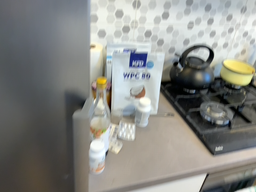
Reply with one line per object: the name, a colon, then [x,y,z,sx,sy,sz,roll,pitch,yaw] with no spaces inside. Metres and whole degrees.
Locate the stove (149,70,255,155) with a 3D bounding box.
stove: [0.480,0.020,1.030,0.590,0.020,0.550,-5,35,-19]
